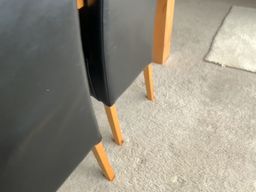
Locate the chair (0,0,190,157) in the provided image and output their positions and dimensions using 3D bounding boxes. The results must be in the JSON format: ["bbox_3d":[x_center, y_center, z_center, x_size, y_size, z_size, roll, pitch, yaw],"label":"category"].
[{"bbox_3d":[-0.100,-0.300,0.860,0.550,0.970,0.450,22,51,24],"label":"chair"}]
